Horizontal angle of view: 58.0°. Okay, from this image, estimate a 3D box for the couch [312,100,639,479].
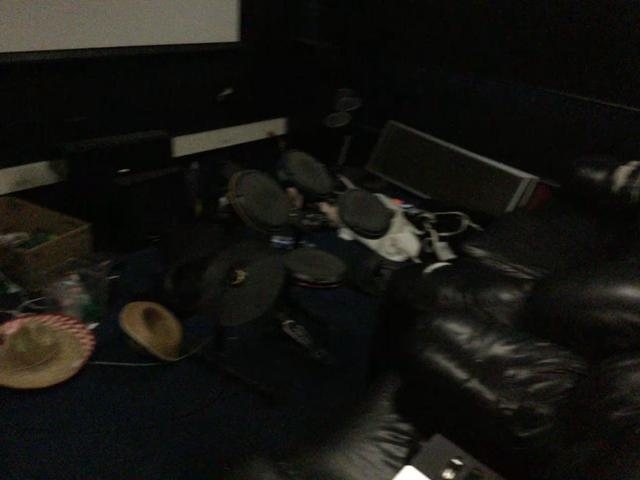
[{"bbox_3d":[1.180,0.060,2.660,1.170,0.990,2.250,25,29,31],"label":"couch"}]

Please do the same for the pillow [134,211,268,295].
[{"bbox_3d":[-0.640,0.050,3.120,0.500,0.150,0.500,25,29,31],"label":"pillow"}]

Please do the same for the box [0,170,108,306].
[{"bbox_3d":[-1.480,-0.030,2.770,0.610,0.350,0.640,25,29,31],"label":"box"}]
